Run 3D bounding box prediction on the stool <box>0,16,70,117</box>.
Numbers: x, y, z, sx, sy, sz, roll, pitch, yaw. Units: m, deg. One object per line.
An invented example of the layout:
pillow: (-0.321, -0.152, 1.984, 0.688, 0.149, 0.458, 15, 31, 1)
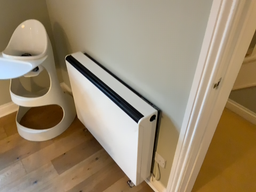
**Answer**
stool: (-0.810, -0.220, 1.850, 0.420, 0.850, 0.280, 0, 40, -1)
